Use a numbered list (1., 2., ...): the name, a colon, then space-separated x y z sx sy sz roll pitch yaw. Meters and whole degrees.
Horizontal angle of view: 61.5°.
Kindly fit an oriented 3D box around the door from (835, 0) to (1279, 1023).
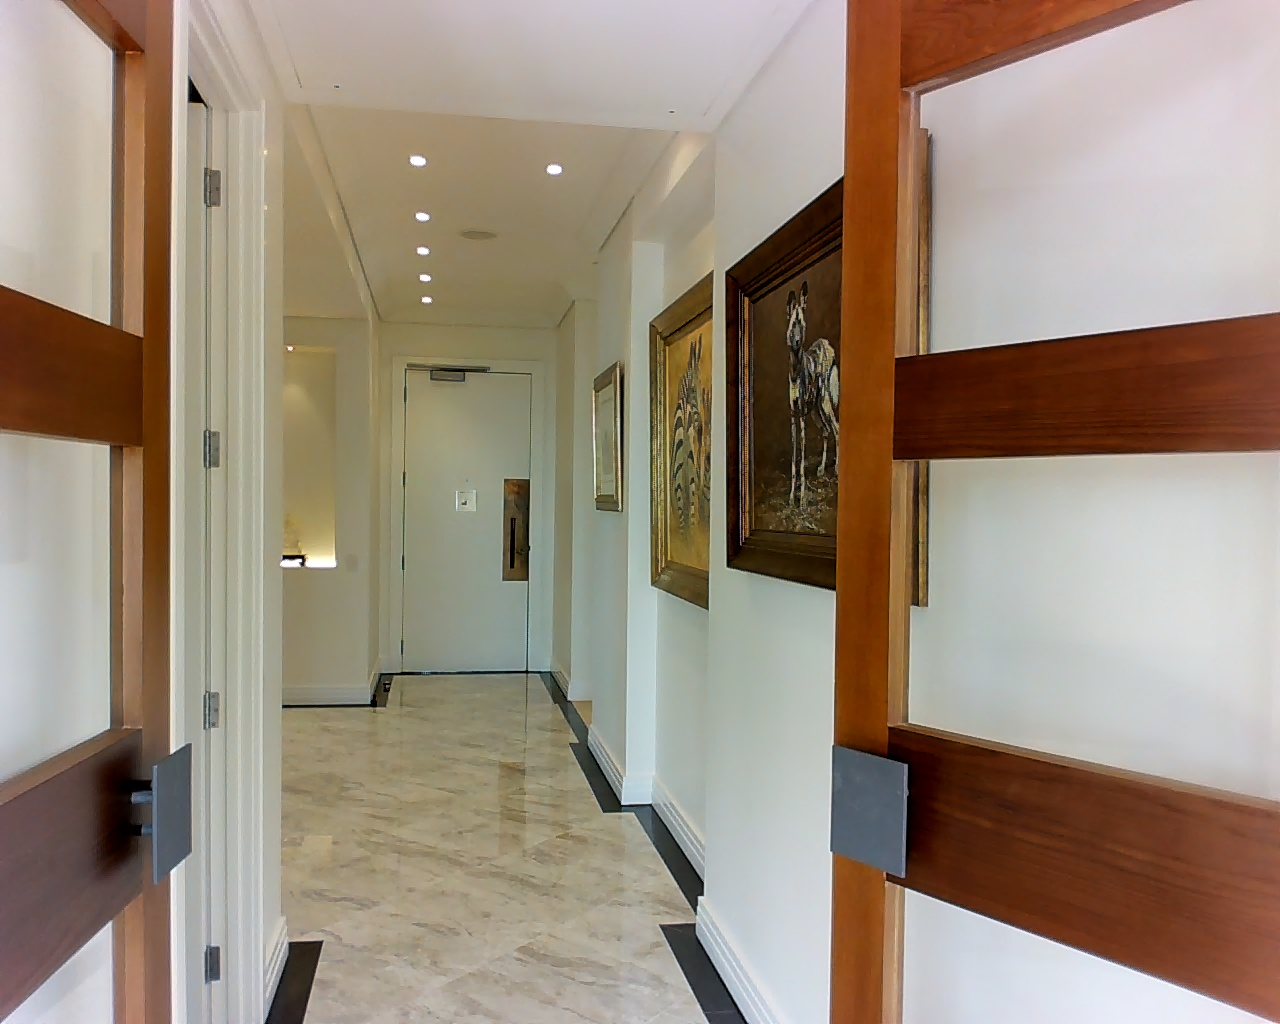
1. door: 0.460 0.110 1.130 0.100 2.311 0.570 0 1 -37

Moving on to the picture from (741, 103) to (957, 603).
1. picture: 0.410 -0.280 2.400 0.060 0.850 1.140 0 1 -10

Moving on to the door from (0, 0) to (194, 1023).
1. door: -0.550 0.150 0.960 0.090 2.321 0.610 0 1 -4
